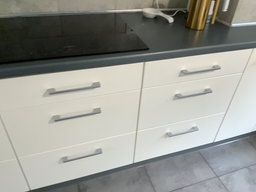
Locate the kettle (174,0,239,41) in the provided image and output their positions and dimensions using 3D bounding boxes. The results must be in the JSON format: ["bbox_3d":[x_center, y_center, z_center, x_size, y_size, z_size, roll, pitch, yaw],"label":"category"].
[{"bbox_3d":[0.430,-0.480,1.210,0.200,0.230,0.260,-7,39,-15],"label":"kettle"}]
